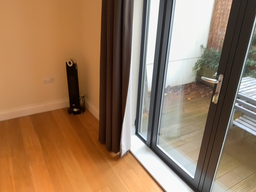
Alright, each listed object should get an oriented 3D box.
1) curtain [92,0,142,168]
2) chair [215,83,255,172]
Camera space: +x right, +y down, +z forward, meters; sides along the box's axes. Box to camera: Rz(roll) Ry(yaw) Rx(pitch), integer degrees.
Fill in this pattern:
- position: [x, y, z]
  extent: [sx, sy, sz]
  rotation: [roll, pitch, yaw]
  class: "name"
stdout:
- position: [-0.130, -0.450, 2.010]
  extent: [0.250, 2.430, 0.480]
  rotation: [-11, 27, -27]
  class: "curtain"
- position: [1.500, 0.320, 2.470]
  extent: [0.630, 0.750, 0.490]
  rotation: [-14, 29, -33]
  class: "chair"
